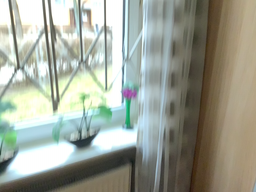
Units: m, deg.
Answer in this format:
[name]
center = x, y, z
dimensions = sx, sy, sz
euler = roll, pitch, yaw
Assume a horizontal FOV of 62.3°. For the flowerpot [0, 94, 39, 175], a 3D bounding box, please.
[flowerpot]
center = -0.590, 0.180, 0.990
dimensions = 0.260, 0.300, 0.190
euler = -10, 22, -30
